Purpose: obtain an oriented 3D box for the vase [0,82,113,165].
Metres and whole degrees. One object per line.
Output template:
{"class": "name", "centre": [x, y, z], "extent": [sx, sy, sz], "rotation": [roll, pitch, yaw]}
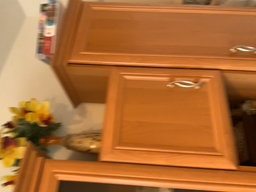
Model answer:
{"class": "vase", "centre": [-0.360, 0.140, 1.010], "extent": [0.290, 0.530, 0.290], "rotation": [88, -175, -64]}
